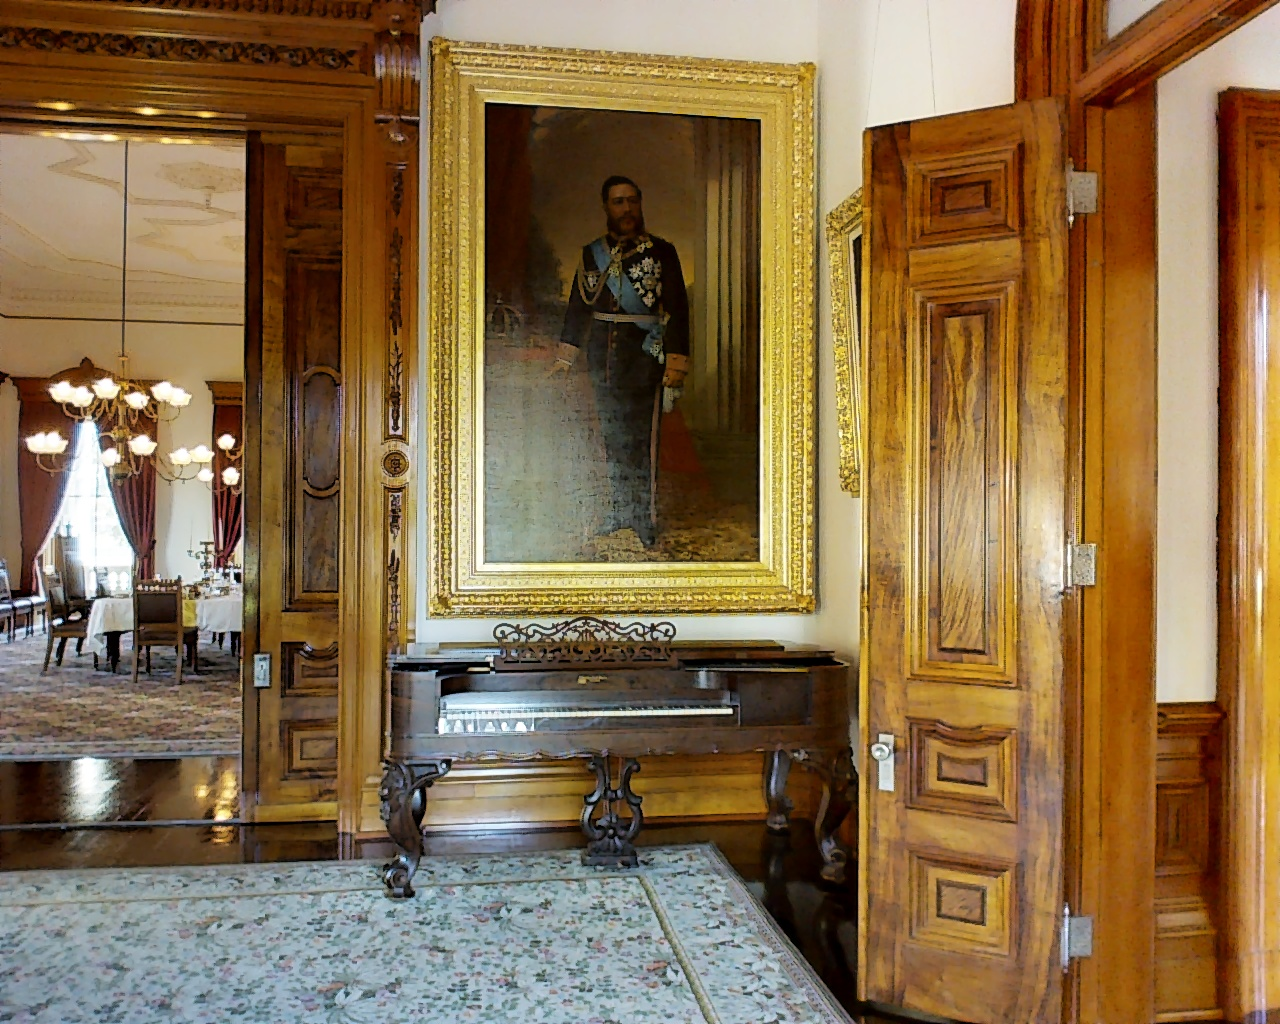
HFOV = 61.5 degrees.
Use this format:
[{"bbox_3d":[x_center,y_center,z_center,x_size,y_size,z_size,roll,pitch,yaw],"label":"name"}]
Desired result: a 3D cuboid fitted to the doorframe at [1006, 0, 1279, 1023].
[{"bbox_3d":[1.580,-0.390,2.860,0.430,3.921,1.570,1,0,-10],"label":"doorframe"}]
